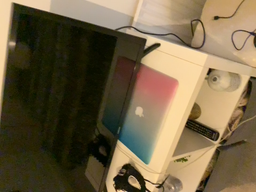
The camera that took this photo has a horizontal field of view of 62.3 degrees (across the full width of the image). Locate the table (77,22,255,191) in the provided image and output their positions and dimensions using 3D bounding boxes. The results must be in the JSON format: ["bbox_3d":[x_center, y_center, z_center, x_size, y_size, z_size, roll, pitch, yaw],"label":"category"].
[{"bbox_3d":[0.270,0.130,1.140,0.520,0.770,0.760,35,115,43],"label":"table"}]

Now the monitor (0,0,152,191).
[{"bbox_3d":[-0.190,0.120,0.740,0.040,0.450,0.730,33,113,44],"label":"monitor"}]
